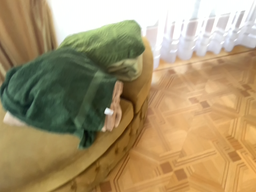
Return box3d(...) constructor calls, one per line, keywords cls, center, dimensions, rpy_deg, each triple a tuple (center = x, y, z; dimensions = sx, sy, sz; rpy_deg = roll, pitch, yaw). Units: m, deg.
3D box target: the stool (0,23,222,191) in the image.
box3d(cls="stool", center=(-0.250, 0.070, 1.470), dimensions=(1.160, 0.510, 1.080), rpy_deg=(-13, 48, -13))
